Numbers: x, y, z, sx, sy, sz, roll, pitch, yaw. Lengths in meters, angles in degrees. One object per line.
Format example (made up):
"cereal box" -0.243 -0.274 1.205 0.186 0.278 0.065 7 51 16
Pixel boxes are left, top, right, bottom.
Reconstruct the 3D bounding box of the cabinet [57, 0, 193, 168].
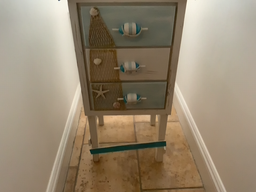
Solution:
"cabinet" -0.010 -0.130 1.000 0.430 1.000 0.350 -1 34 -1
